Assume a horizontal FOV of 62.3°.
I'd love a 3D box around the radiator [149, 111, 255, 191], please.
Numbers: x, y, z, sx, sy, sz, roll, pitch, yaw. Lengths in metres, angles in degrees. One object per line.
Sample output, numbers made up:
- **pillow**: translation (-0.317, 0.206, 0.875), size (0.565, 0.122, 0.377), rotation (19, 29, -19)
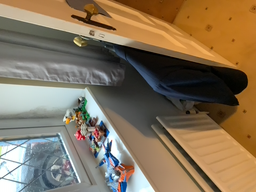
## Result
- **radiator**: translation (0.580, 0.390, 1.120), size (0.910, 0.550, 0.060), rotation (48, 123, 39)
